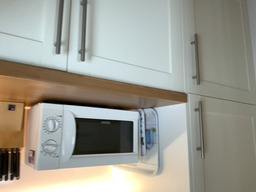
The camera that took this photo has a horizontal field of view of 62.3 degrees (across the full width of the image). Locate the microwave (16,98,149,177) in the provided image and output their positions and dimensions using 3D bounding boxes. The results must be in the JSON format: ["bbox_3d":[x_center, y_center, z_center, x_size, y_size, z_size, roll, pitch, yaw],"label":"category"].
[{"bbox_3d":[-0.210,0.190,1.010,0.490,0.260,0.380,8,167,-37],"label":"microwave"}]
